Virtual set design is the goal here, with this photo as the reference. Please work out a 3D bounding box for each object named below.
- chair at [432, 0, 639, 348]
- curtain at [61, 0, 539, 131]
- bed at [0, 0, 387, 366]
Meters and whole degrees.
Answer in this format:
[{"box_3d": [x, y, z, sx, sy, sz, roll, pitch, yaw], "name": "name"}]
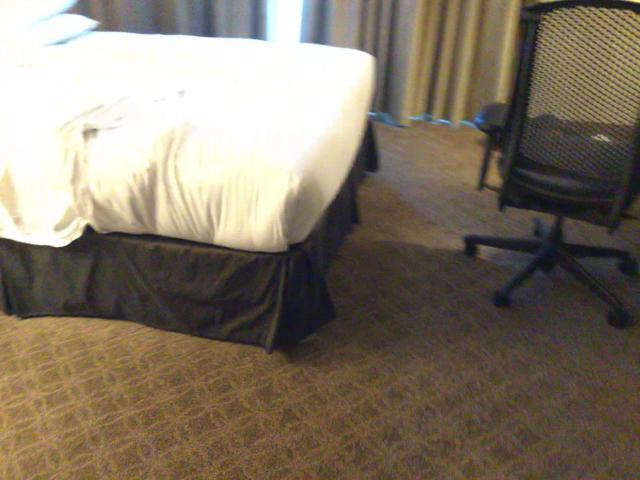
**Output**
[{"box_3d": [0.860, -0.320, 2.020, 0.670, 1.050, 0.650, 14, 33, 23], "name": "chair"}, {"box_3d": [-0.180, -1.600, 3.420, 2.820, 1.710, 0.360, 5, 30, 9], "name": "curtain"}, {"box_3d": [-0.860, -0.470, 2.450, 2.130, 0.950, 1.550, 5, 30, 9], "name": "bed"}]
